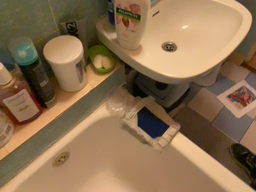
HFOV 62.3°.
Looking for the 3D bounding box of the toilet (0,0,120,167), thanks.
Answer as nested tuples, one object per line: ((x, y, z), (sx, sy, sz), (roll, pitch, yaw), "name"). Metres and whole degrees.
((-0.300, -0.010, 0.560), (0.160, 0.250, 0.620), (40, 64, 22), "toilet")

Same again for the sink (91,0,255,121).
((0.190, -0.230, 0.820), (0.410, 0.180, 0.490), (38, 63, 21), "sink")
